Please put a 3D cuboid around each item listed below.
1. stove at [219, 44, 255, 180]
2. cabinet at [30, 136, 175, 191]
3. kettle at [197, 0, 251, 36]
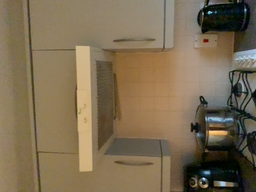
[{"bbox_3d":[0.600,0.040,1.120,0.550,0.040,0.580,-51,-39,-80],"label":"stove"},{"bbox_3d":[-0.150,0.500,1.400,0.290,0.860,0.370,-50,-40,-80],"label":"cabinet"},{"bbox_3d":[0.540,-0.470,1.220,0.190,0.230,0.210,-45,-45,-81],"label":"kettle"}]
